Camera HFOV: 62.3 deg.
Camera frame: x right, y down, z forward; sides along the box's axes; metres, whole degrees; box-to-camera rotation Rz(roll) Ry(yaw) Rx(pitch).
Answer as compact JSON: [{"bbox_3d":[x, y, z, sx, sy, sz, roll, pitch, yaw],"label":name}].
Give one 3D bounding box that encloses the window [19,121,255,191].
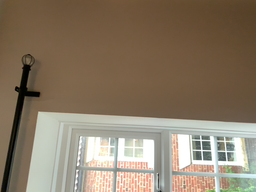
[{"bbox_3d":[0.160,0.650,1.440,0.100,1.720,0.860,99,174,-74],"label":"window"}]
